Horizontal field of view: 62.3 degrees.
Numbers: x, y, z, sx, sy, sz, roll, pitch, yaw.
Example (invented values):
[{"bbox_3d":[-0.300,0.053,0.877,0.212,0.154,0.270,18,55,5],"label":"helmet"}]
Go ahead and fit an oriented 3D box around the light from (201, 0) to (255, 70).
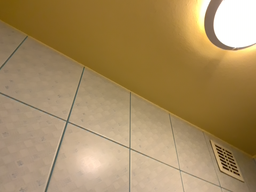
[{"bbox_3d":[0.410,-0.240,0.690,0.230,0.270,0.090,53,24,-42],"label":"light"}]
